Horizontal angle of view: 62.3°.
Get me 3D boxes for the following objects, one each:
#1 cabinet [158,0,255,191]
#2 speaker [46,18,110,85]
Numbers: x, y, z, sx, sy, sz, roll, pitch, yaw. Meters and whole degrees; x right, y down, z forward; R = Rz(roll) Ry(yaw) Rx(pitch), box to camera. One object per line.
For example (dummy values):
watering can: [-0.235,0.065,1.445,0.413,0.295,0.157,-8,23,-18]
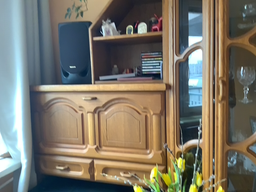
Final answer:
cabinet: [0.630,-0.100,1.060,0.880,1.690,0.490,1,7,17]
speaker: [-0.310,-0.270,1.390,0.260,0.370,0.320,1,7,18]
